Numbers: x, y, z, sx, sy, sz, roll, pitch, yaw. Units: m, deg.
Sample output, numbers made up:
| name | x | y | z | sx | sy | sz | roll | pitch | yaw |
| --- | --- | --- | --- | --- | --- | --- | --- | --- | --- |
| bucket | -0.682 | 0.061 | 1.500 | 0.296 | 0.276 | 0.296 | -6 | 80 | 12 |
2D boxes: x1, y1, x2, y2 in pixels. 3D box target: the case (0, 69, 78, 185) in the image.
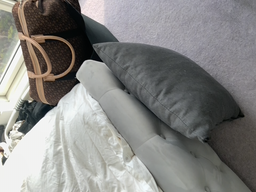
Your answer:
| name | x | y | z | sx | sy | sz | roll | pitch | yaw |
| --- | --- | --- | --- | --- | --- | --- | --- | --- | --- |
| case | -0.780 | 0.250 | 1.520 | 0.330 | 0.340 | 0.840 | 49 | 114 | 21 |
